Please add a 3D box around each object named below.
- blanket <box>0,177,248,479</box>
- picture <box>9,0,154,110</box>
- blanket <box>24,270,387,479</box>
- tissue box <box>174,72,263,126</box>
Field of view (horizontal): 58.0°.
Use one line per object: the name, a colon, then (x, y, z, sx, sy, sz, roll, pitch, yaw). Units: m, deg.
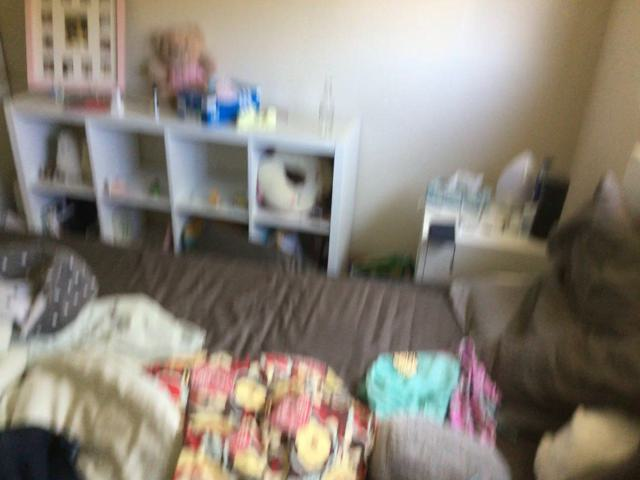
blanket: (-0.780, 0.280, 1.200, 0.900, 0.300, 1.280, 8, 29, 9)
picture: (-0.970, -0.860, 2.390, 0.390, 0.520, 0.350, 8, 29, 8)
blanket: (-0.140, 0.360, 1.070, 0.440, 0.310, 0.560, 8, 29, 9)
tissue box: (-0.400, -0.570, 2.310, 0.220, 0.120, 0.280, 18, 32, 25)
